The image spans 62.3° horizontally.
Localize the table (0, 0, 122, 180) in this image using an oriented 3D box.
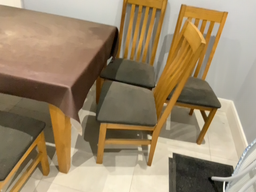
[{"bbox_3d":[-0.960,-0.230,1.750,1.530,0.780,1.170,13,37,4],"label":"table"}]
